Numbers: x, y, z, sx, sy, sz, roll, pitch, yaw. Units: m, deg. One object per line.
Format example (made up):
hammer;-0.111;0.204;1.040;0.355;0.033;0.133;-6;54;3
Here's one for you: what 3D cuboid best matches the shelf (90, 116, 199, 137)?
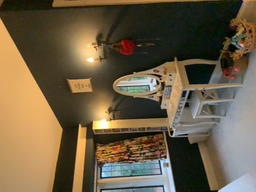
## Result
shelf;0.300;0.570;4.010;0.270;1.980;0.180;89;177;-53
